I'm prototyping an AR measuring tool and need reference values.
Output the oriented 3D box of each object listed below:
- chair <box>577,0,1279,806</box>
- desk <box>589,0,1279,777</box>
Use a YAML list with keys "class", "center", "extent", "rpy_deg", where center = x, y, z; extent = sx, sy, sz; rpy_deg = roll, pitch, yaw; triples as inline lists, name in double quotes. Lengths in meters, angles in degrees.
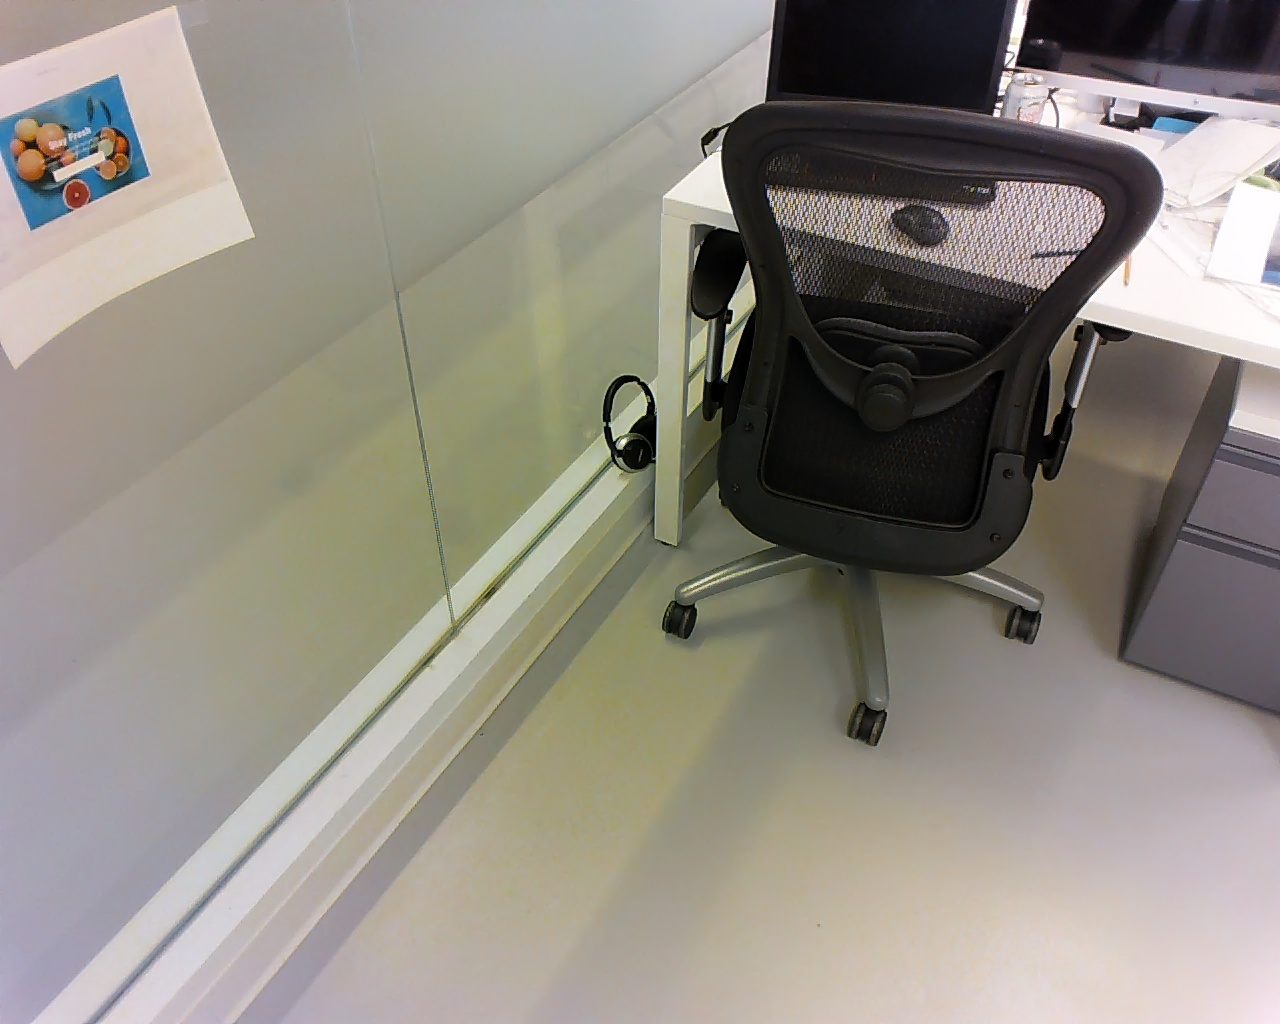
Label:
- class: "chair"
  center: [0.410, -0.220, 1.700]
  extent: [0.740, 1.010, 0.650]
  rpy_deg: [20, 46, 22]
- class: "desk"
  center: [1.260, -0.380, 2.060]
  extent: [2.180, 0.770, 1.590]
  rpy_deg: [20, 46, 21]
